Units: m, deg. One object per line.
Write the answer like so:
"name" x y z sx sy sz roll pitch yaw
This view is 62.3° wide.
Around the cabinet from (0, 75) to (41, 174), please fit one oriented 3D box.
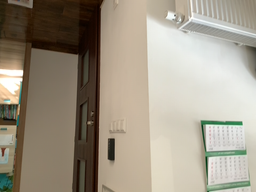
"cabinet" -2.330 0.560 4.340 0.860 1.910 0.260 5 168 -26
